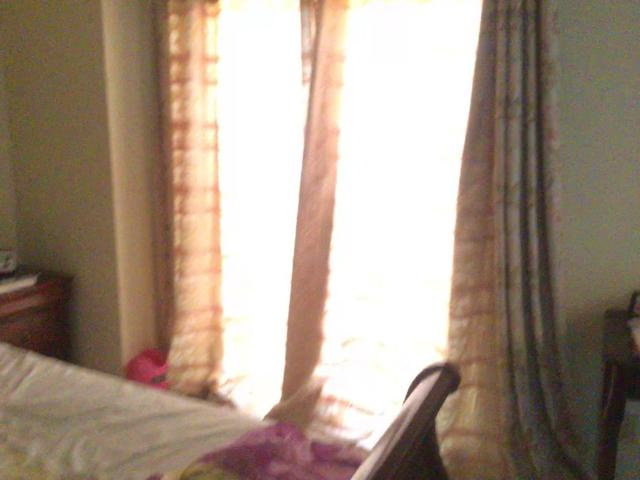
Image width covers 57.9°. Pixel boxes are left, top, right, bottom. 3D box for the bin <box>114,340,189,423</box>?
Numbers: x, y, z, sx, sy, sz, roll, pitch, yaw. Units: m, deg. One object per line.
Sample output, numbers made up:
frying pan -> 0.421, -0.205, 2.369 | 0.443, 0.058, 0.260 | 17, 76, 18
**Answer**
bin -> -0.790, 0.660, 2.730 | 0.230, 0.280, 0.230 | 5, 12, 25
